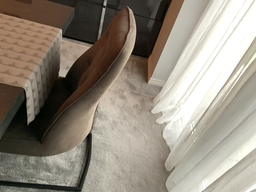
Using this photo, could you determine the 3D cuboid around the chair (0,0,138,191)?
[{"bbox_3d":[-0.370,0.040,1.020,0.580,0.910,0.520,13,43,-9],"label":"chair"}]
